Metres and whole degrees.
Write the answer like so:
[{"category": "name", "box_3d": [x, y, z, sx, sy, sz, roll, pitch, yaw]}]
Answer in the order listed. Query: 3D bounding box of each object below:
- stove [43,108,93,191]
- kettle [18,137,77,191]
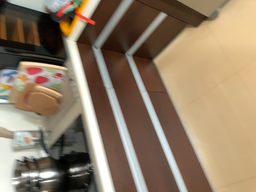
[{"category": "stove", "box_3d": [-0.330, 0.470, 1.150, 0.460, 0.020, 0.670, -43, 56, 39]}, {"category": "kettle", "box_3d": [-0.480, 0.440, 1.230, 0.290, 0.200, 0.280, -45, 55, 38]}]
